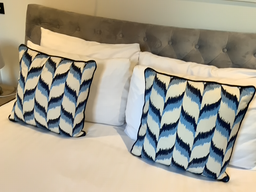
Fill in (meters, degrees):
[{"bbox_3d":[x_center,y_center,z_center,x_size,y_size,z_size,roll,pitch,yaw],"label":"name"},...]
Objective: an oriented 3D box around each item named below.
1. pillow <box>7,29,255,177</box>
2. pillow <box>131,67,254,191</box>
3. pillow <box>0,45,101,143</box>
[{"bbox_3d":[0.030,-0.040,1.190,1.360,0.450,0.340,13,25,16],"label":"pillow"},{"bbox_3d":[0.250,0.120,0.910,0.380,0.410,0.180,13,17,16],"label":"pillow"},{"bbox_3d":[-0.390,-0.020,1.080,0.400,0.380,0.170,14,6,12],"label":"pillow"}]
